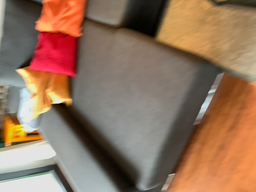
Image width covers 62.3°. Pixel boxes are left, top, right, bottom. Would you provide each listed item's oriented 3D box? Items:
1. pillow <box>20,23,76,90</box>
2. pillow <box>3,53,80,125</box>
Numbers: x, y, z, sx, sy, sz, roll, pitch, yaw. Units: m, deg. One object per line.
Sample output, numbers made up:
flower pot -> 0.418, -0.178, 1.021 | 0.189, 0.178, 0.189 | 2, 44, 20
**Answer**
pillow -> -0.620, -0.330, 1.740 | 0.170, 0.450, 0.350 | -3, 129, 10
pillow -> -0.700, -0.070, 1.800 | 0.220, 0.460, 0.380 | -23, 114, 27
